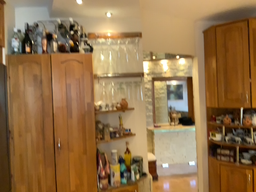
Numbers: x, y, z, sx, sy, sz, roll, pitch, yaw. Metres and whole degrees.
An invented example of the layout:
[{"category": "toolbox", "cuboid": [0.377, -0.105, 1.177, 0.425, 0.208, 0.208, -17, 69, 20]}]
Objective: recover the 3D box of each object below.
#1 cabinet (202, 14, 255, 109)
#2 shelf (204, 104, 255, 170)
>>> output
[{"category": "cabinet", "cuboid": [1.280, -0.370, 2.520, 0.540, 0.990, 0.560, -2, 1, -7]}, {"category": "shelf", "cuboid": [1.310, 0.440, 2.520, 0.550, 0.630, 0.560, -2, 1, -7]}]
